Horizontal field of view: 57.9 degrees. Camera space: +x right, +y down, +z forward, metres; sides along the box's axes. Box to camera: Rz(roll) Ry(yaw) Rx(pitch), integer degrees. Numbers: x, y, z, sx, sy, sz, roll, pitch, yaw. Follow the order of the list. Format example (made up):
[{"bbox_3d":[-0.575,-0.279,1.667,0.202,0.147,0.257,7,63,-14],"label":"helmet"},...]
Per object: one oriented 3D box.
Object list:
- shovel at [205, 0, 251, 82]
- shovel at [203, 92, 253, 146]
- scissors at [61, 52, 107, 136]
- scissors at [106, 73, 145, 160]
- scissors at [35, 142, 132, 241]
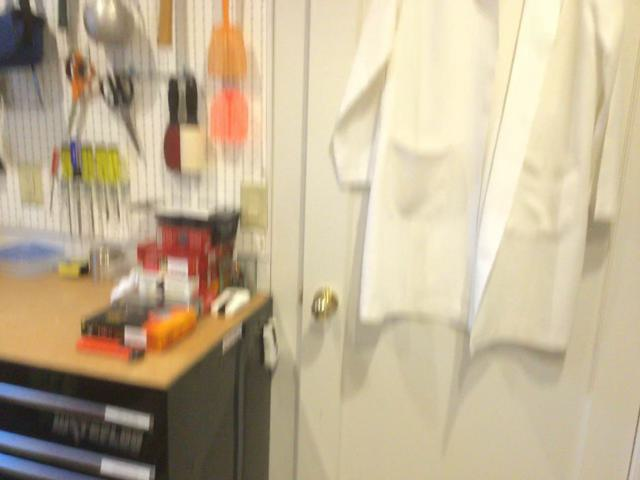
[{"bbox_3d":[-0.210,-0.560,1.320,0.100,0.380,0.030,5,14,14],"label":"shovel"},{"bbox_3d":[-0.220,-0.290,1.380,0.110,0.120,0.040,5,14,14],"label":"shovel"},{"bbox_3d":[-0.600,-0.370,1.470,0.090,0.200,0.040,5,14,14],"label":"scissors"},{"bbox_3d":[-0.490,-0.310,1.460,0.080,0.210,0.030,5,14,14],"label":"scissors"},{"bbox_3d":[-0.620,-0.130,1.520,0.230,0.240,0.060,5,14,14],"label":"scissors"}]
